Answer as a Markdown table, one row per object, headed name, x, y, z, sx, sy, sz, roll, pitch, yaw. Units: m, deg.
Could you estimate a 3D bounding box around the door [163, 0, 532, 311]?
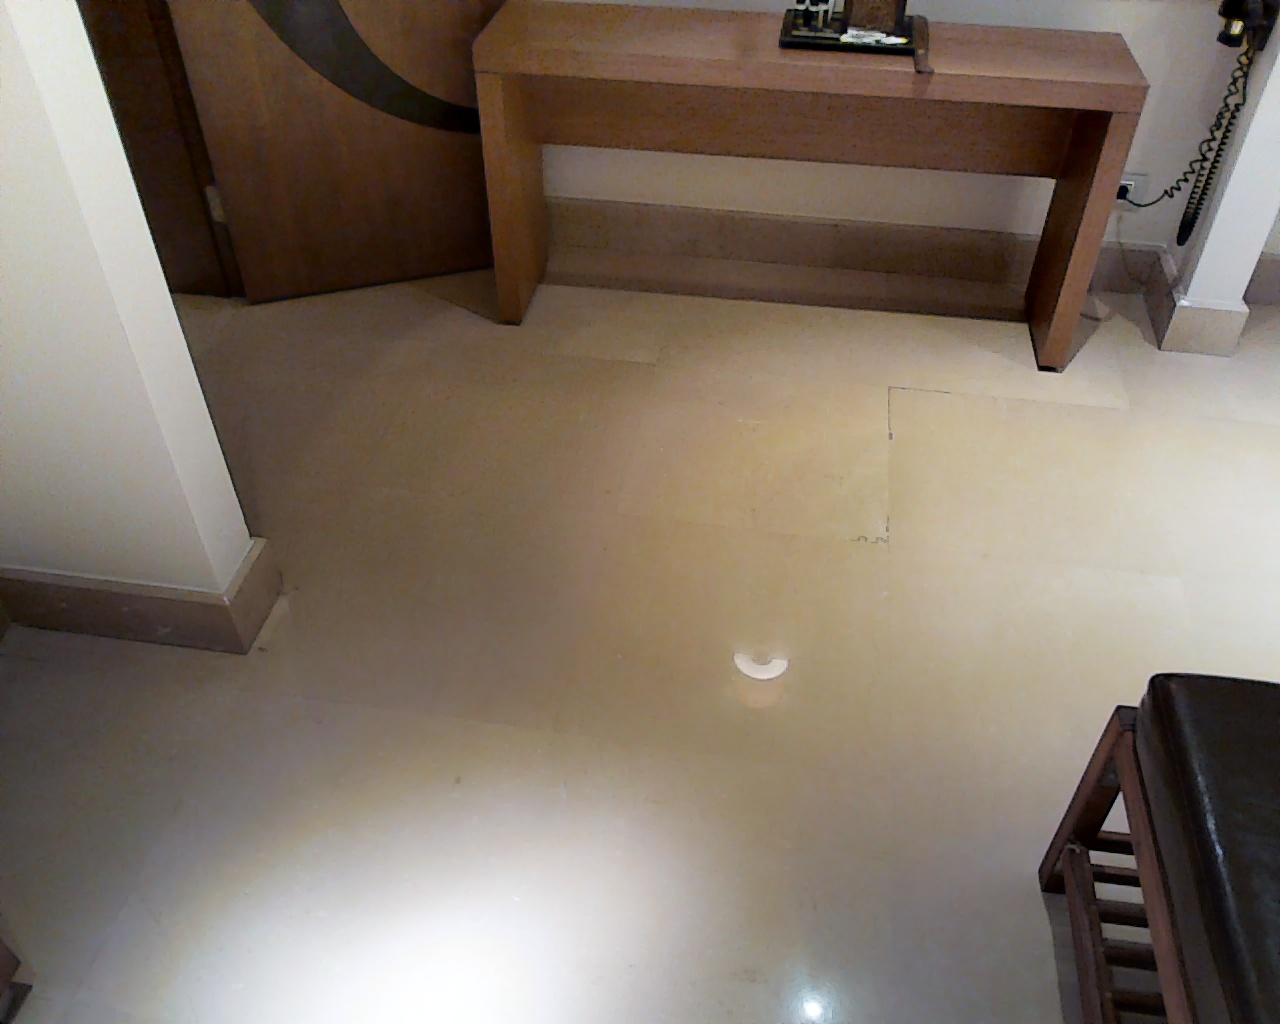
| name | x | y | z | sx | sy | sz | roll | pitch | yaw |
| --- | --- | --- | --- | --- | --- | --- | --- | --- | --- |
| door | -0.720 | -1.470 | 2.430 | 0.820 | 2.180 | 0.040 | -12 | 44 | -13 |
